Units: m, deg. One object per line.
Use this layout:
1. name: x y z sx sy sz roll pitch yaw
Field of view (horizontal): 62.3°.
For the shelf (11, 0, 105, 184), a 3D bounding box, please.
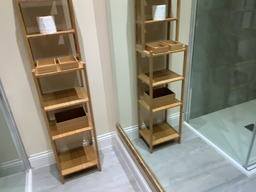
1. shelf: -0.470 -0.080 1.570 0.380 1.580 0.290 -13 28 -19
